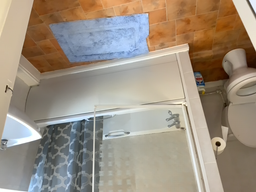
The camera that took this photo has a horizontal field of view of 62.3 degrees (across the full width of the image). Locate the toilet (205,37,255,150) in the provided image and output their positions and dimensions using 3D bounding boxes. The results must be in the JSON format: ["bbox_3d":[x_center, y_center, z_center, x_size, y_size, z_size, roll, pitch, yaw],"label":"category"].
[{"bbox_3d":[1.090,0.000,2.000,0.470,0.820,0.630,-9,151,10],"label":"toilet"}]

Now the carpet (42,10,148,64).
[{"bbox_3d":[-0.240,-0.480,1.850,0.810,0.010,0.500,-6,151,5],"label":"carpet"}]

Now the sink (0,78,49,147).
[{"bbox_3d":[-0.880,0.140,1.420,0.410,0.210,0.610,-7,151,7],"label":"sink"}]
